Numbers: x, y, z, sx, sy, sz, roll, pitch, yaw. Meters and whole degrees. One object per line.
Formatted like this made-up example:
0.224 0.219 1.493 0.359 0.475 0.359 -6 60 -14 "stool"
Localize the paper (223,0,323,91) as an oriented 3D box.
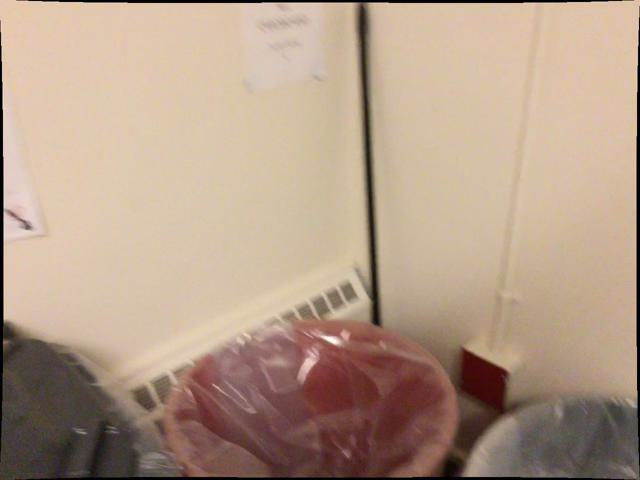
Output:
-0.100 -0.490 1.260 0.230 0.280 0.040 -24 32 -36 "paper"
